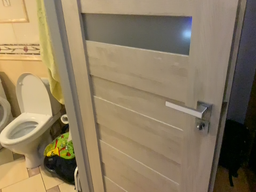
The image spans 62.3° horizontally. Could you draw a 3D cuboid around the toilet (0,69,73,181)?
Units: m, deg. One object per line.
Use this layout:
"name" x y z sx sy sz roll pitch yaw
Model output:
"toilet" -0.920 0.240 2.040 0.400 0.810 0.660 3 27 12
